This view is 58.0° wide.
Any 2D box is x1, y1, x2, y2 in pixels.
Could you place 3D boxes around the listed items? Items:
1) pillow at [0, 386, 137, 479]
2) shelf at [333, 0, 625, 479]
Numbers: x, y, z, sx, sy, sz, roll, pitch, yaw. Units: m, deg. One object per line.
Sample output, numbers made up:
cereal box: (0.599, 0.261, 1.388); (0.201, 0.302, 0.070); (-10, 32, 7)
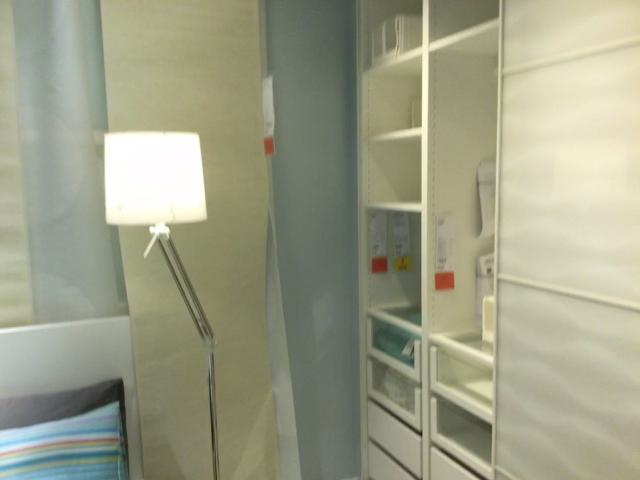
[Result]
pillow: (-0.880, 0.710, 1.610); (0.690, 0.430, 0.200); (-5, -36, -22)
shelf: (0.530, 0.090, 2.180); (0.480, 0.960, 2.240); (-9, -78, -21)
